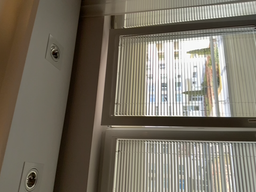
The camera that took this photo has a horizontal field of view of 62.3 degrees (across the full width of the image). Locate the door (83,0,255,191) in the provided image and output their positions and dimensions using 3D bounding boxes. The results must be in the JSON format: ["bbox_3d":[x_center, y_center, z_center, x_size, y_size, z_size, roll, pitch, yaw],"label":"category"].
[{"bbox_3d":[0.930,0.060,1.470,0.130,2.460,2.370,54,-143,-68],"label":"door"}]
